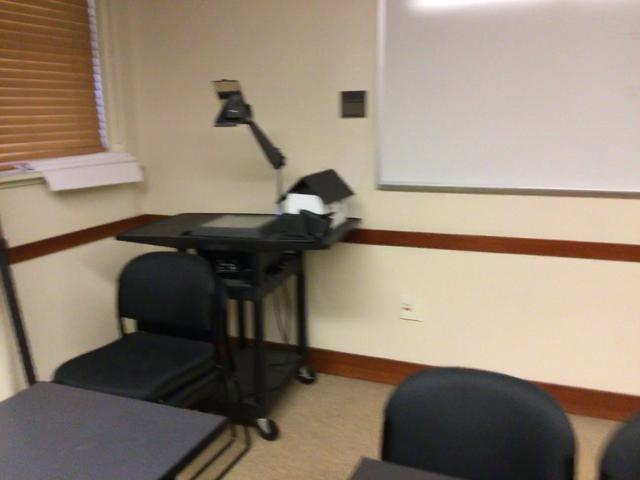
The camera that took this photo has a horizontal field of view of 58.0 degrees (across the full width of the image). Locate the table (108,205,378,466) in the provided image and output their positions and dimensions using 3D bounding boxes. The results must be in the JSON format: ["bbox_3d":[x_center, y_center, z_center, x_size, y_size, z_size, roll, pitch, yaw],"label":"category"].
[{"bbox_3d":[-0.320,0.360,2.810,1.010,0.940,0.780,4,11,22],"label":"table"}]

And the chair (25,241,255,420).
[{"bbox_3d":[-0.640,0.290,2.210,0.510,0.440,0.660,4,11,22],"label":"chair"}]

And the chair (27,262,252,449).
[{"bbox_3d":[-0.650,0.390,2.230,0.500,0.450,0.650,4,11,22],"label":"chair"}]
